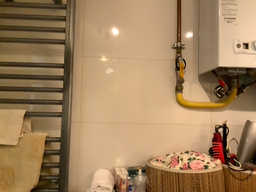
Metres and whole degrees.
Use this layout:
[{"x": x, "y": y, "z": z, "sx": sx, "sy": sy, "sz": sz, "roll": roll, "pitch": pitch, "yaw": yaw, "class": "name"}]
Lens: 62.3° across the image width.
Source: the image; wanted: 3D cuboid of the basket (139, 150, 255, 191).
[{"x": 0.320, "y": 0.330, "z": 0.840, "sx": 0.530, "sy": 0.190, "sz": 0.170, "roll": 2, "pitch": -4, "yaw": -4, "class": "basket"}]
